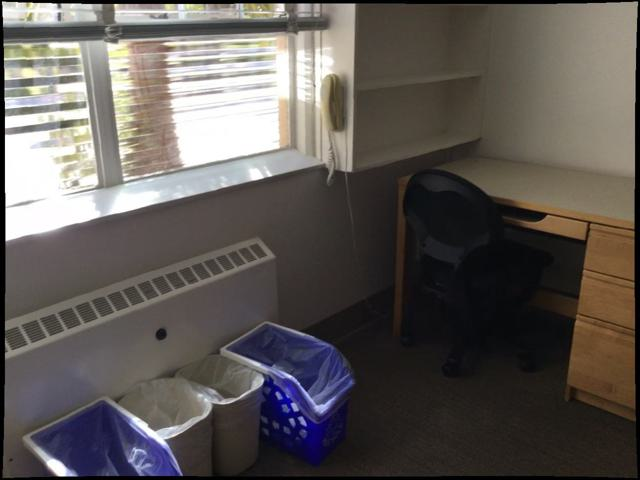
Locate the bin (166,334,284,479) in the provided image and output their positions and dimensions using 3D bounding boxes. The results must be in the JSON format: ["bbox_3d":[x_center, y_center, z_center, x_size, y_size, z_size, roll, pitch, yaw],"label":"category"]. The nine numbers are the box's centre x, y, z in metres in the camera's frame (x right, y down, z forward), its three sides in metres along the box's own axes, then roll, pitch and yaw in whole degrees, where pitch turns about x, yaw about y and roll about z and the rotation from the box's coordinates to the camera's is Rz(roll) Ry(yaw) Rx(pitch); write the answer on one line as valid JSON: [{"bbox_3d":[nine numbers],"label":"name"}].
[{"bbox_3d":[-0.310,0.551,1.920,0.270,0.330,0.250,20,30,41],"label":"bin"}]

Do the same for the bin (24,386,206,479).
[{"bbox_3d":[-0.549,0.691,1.590,0.420,0.330,0.290,20,30,41],"label":"bin"}]

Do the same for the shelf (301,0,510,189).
[{"bbox_3d":[0.390,-1.121,2.320,0.310,1.611,1.010,20,30,41],"label":"shelf"}]

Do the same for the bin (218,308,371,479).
[{"bbox_3d":[-0.090,0.511,2.020,0.440,0.330,0.300,20,30,41],"label":"bin"}]

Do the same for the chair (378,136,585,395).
[{"bbox_3d":[0.649,0.060,2.430,0.580,0.831,0.540,20,30,41],"label":"chair"}]

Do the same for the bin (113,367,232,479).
[{"bbox_3d":[-0.450,0.621,1.780,0.270,0.310,0.210,20,30,41],"label":"bin"}]
